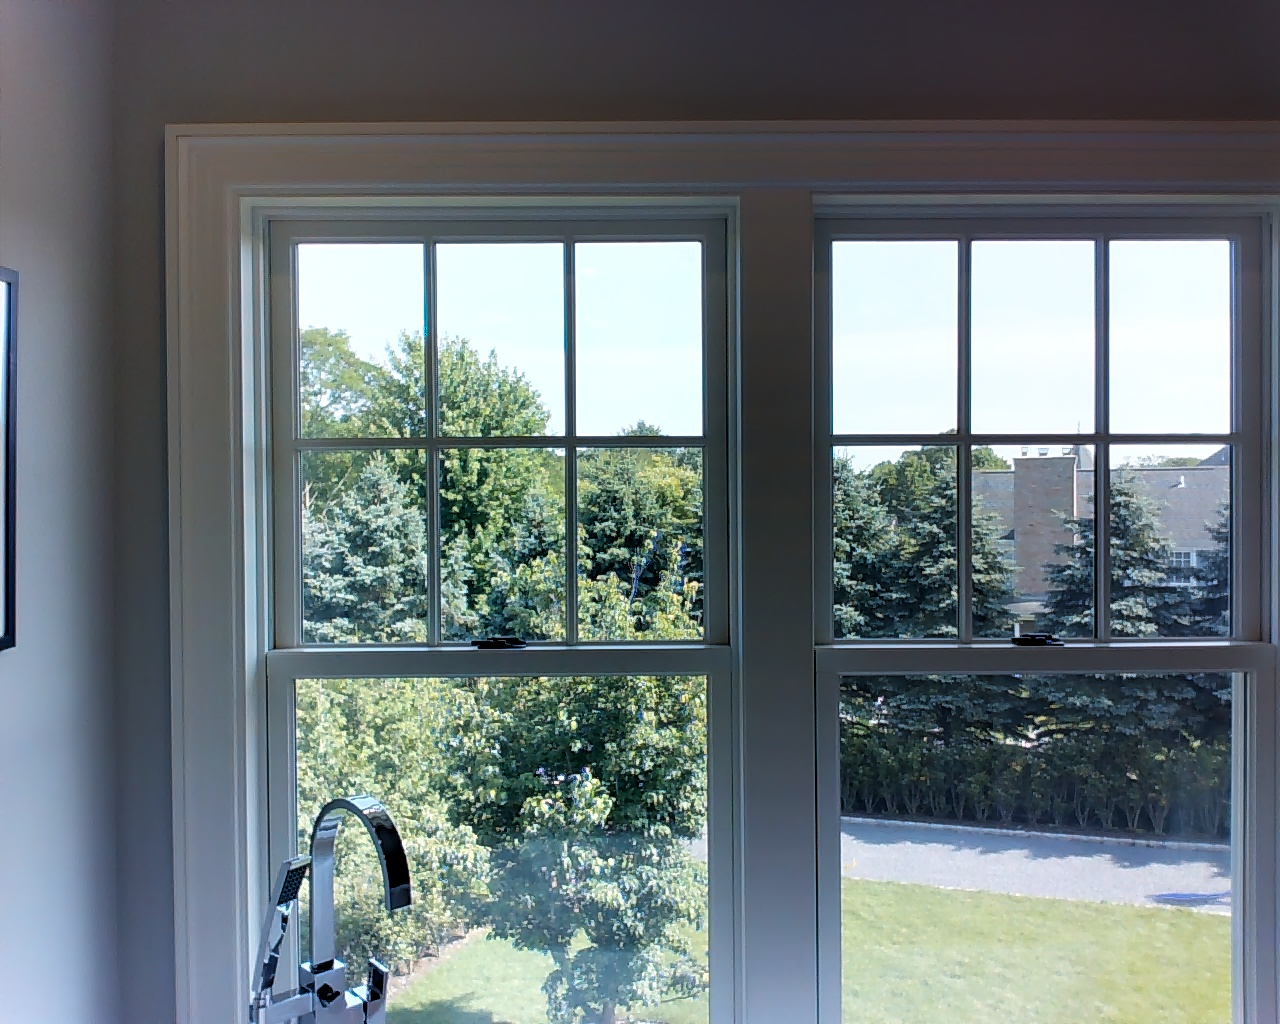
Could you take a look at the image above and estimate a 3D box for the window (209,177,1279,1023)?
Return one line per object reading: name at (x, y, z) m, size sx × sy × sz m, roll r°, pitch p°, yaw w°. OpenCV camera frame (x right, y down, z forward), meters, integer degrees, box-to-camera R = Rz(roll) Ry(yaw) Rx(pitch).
window at (0.330, 0.280, 1.950) m, size 2.090 × 1.690 × 0.260 m, roll 0°, pitch 0°, yaw -1°
